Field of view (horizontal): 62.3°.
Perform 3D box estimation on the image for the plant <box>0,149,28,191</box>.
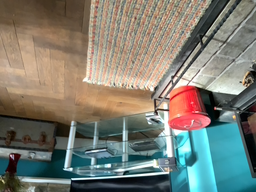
[{"bbox_3d":[-1.290,0.820,2.280,0.280,0.430,0.180,9,148,-15],"label":"plant"}]
